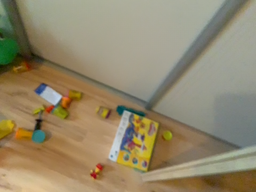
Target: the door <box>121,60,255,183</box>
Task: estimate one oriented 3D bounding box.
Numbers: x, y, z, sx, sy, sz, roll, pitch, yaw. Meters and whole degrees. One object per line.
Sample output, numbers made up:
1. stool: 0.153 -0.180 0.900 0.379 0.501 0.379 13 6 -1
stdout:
1. door: 0.640 0.050 0.460 0.940 2.150 0.160 0 68 -13
